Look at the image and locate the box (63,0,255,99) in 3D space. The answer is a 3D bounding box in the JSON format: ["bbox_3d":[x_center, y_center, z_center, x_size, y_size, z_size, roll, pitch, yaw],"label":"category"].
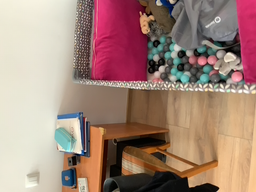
[{"bbox_3d":[0.350,-0.420,1.380,1.420,0.900,0.780,8,94,46],"label":"box"}]
